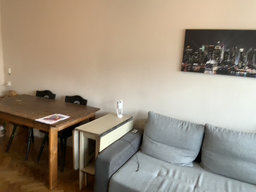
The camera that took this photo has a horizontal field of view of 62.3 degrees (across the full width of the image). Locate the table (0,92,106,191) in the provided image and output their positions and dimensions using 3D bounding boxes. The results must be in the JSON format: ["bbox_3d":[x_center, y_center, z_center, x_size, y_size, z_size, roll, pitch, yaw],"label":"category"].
[{"bbox_3d":[-1.120,0.490,2.690,1.420,0.780,0.830,10,13,24],"label":"table"}]

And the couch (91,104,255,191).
[{"bbox_3d":[1.000,0.790,1.830,2.460,0.870,0.990,10,13,24],"label":"couch"}]

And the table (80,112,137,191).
[{"bbox_3d":[-0.200,0.640,2.480,0.260,0.720,0.800,10,13,24],"label":"table"}]

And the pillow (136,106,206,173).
[{"bbox_3d":[0.450,0.450,2.320,0.690,0.500,0.230,13,30,31],"label":"pillow"}]
